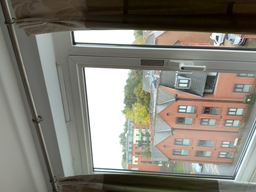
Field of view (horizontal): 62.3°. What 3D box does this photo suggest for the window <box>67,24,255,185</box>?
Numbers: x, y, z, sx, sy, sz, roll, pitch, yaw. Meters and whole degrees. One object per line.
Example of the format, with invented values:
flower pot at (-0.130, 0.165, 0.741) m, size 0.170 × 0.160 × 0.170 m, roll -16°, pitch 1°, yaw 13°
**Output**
window at (0.320, 0.150, 1.370) m, size 0.100 × 1.250 × 1.140 m, roll -84°, pitch -4°, yaw -56°
